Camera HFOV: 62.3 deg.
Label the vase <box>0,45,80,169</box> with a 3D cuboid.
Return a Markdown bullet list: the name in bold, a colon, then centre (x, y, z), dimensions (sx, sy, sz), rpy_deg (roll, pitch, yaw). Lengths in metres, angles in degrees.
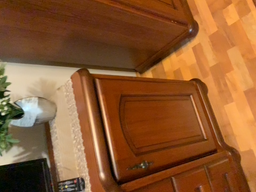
- **vase**: centre (-0.480, 0.070, 0.880), dimensions (0.360, 0.370, 0.410), rpy_deg (-29, 69, 46)
